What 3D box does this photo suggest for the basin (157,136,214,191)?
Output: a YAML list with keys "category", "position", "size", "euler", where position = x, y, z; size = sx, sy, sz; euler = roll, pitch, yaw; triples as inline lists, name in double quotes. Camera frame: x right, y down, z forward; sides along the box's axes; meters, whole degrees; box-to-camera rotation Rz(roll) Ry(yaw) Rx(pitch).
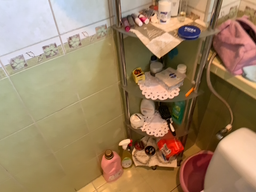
- category: "basin"
  position: [0.390, 0.470, 1.460]
  size: [0.310, 0.140, 0.220]
  euler: [-33, 53, -25]
